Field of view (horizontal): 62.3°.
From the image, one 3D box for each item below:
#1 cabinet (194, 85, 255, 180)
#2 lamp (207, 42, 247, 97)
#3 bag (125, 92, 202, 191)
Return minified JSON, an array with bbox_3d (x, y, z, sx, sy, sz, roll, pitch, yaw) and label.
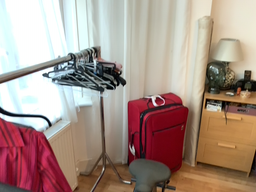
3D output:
[{"bbox_3d":[1.000,0.340,2.170,0.520,0.760,0.440,7,20,18],"label":"cabinet"},{"bbox_3d":[0.940,-0.270,2.060,0.260,0.470,0.290,7,21,18],"label":"lamp"},{"bbox_3d":[0.300,0.410,1.970,0.550,0.740,0.370,-10,22,-26],"label":"bag"}]
